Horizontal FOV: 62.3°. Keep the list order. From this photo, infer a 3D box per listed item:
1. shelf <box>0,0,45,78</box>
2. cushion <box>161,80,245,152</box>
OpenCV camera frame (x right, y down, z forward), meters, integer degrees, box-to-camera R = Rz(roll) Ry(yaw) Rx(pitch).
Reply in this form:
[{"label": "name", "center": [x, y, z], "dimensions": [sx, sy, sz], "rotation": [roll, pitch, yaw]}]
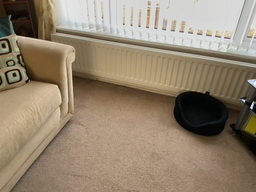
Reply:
[{"label": "shelf", "center": [-1.110, -1.060, 1.970], "dimensions": [0.270, 1.890, 0.240], "rotation": [-14, 39, -22]}, {"label": "cushion", "center": [0.650, 0.150, 1.910], "dimensions": [0.450, 0.270, 0.500], "rotation": [-20, 42, -28]}]
